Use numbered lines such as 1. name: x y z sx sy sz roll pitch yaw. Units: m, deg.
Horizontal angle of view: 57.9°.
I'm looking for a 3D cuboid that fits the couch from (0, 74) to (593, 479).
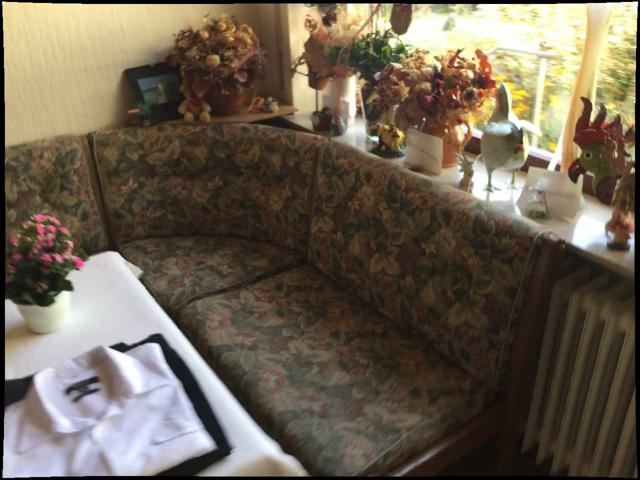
1. couch: -0.659 0.330 1.570 2.089 0.911 1.530 -21 35 -29
